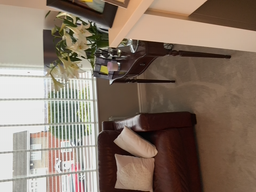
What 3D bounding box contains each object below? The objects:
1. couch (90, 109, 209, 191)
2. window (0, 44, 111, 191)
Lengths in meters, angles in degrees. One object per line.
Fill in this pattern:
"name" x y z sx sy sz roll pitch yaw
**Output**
"couch" 0.150 1.000 2.220 1.090 0.800 1.590 155 113 -66
"window" -1.070 0.730 2.670 0.320 1.620 2.710 155 113 -66
